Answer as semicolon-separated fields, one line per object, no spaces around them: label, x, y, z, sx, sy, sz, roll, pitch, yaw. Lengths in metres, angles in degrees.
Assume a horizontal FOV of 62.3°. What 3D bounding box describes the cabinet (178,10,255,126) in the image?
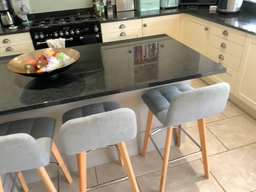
cabinet;1.410;-0.320;2.390;0.530;0.820;2.410;-11;32;-12

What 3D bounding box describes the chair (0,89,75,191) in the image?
chair;-0.600;0.470;1.280;0.410;0.870;0.410;-11;32;-12

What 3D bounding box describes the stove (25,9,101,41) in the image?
stove;-0.910;-1.030;3.020;0.920;0.200;0.630;-11;32;-12

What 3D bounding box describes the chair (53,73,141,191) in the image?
chair;-0.180;0.360;1.400;0.400;0.870;0.410;-11;32;-12
